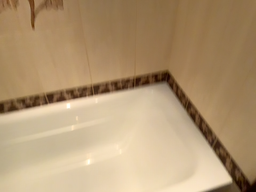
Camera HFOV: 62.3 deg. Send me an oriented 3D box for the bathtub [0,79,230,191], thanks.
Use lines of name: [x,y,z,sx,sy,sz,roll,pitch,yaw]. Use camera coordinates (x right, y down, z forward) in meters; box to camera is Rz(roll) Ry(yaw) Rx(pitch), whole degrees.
bathtub: [-0.380,0.470,1.140,1.470,0.570,0.660,-12,46,-13]
